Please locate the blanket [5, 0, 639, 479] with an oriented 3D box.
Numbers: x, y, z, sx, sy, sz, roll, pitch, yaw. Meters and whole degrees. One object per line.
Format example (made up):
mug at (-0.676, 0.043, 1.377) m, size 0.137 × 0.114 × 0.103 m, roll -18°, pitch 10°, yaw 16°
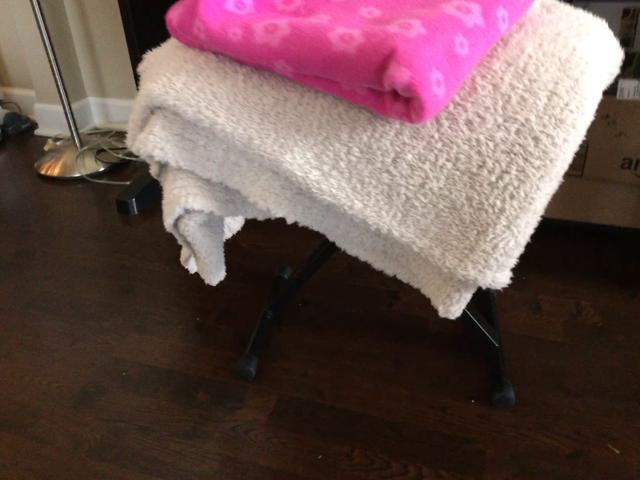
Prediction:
blanket at (0.060, -0.120, 0.870) m, size 0.640 × 0.640 × 0.510 m, roll 10°, pitch 36°, yaw 18°
